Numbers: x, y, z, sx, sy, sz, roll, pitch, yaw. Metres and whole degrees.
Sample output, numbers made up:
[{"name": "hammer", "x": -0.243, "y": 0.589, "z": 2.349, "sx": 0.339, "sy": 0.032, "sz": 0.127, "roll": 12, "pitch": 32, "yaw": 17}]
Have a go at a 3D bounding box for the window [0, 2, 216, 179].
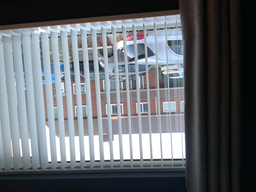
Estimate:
[{"name": "window", "x": -0.370, "y": 0.010, "z": 1.650, "sx": 1.970, "sy": 1.240, "sz": 0.070, "roll": -2, "pitch": -177, "yaw": 7}]
